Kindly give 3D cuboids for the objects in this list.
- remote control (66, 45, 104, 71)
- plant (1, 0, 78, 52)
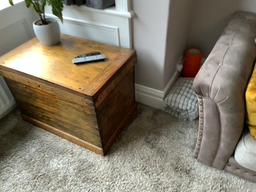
[{"bbox_3d":[-0.290,-0.260,1.420,0.210,0.050,0.170,-16,44,-14],"label":"remote control"},{"bbox_3d":[-0.630,-0.660,1.480,0.330,0.550,0.310,20,47,23],"label":"plant"}]
